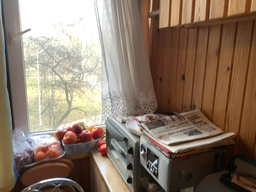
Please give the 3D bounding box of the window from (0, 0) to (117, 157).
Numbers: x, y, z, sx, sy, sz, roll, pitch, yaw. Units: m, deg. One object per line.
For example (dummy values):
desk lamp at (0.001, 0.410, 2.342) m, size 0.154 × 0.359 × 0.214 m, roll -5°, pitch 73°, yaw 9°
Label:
window at (-0.440, -0.330, 1.360) m, size 0.720 × 1.340 × 0.170 m, roll -4°, pitch 12°, yaw -24°
